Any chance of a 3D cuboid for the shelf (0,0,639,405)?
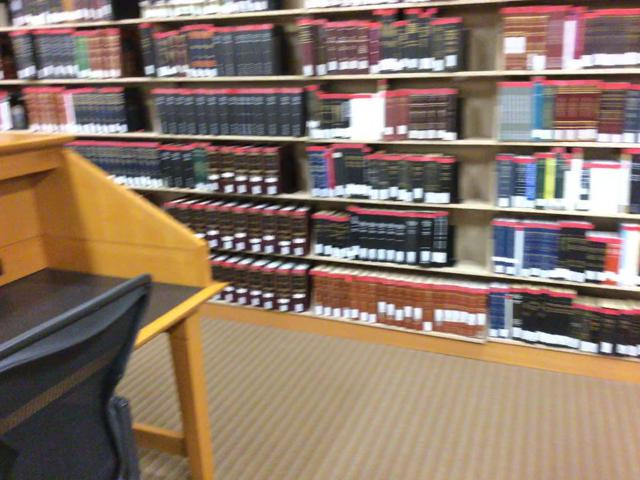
[{"bbox_3d":[0.840,-0.310,2.690,7.070,1.820,0.670,3,16,21],"label":"shelf"}]
